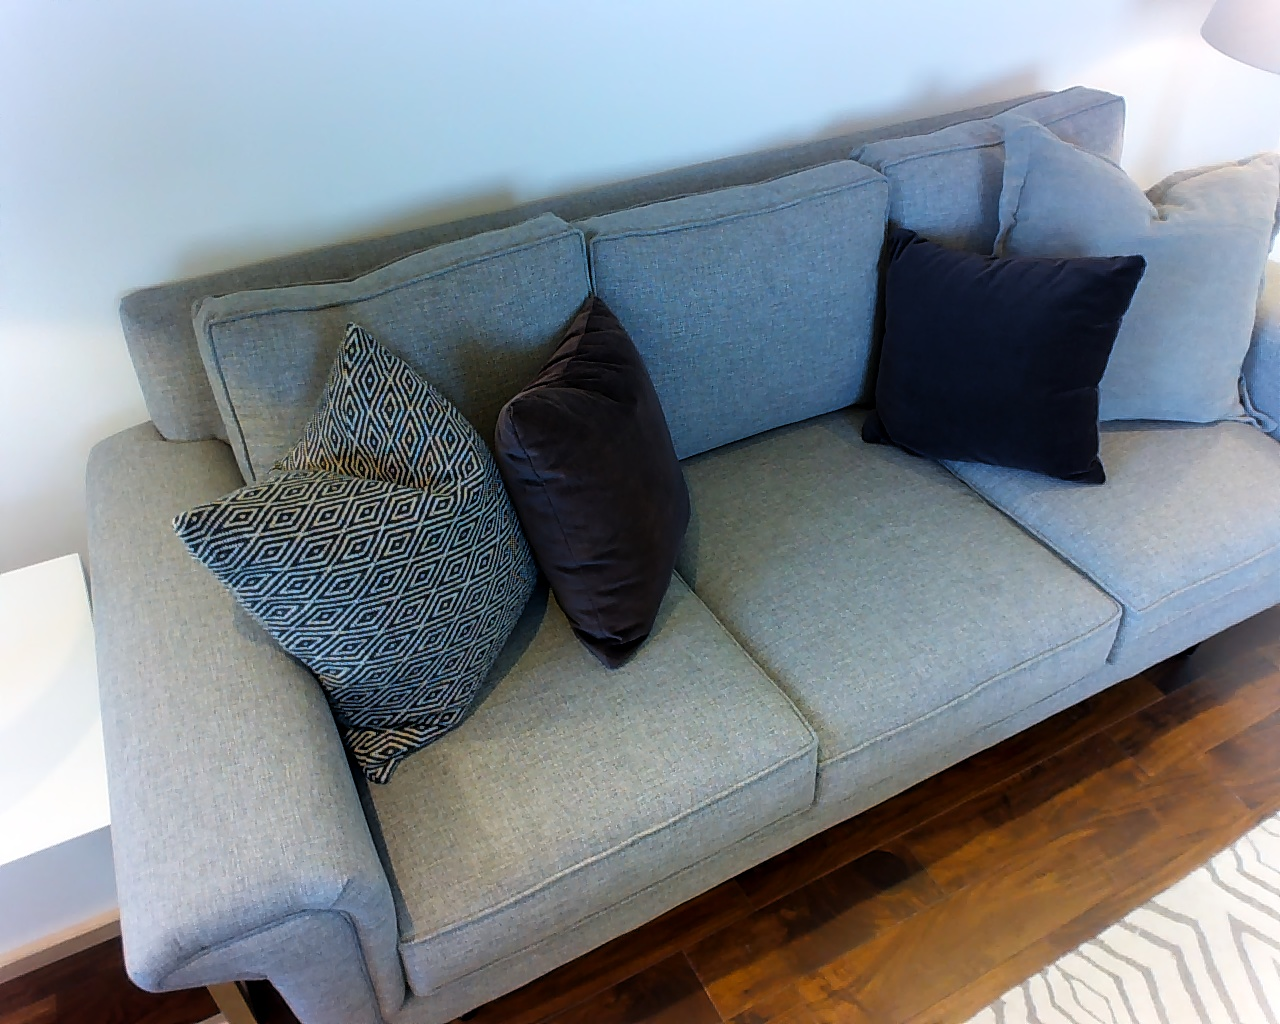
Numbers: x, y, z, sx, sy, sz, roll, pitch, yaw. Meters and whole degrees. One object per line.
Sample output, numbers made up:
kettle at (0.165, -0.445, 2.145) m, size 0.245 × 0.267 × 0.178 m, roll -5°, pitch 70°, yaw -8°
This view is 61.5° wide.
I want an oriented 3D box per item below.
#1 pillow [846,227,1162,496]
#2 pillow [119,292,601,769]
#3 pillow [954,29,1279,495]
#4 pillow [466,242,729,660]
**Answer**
pillow at (0.570, -0.240, 1.720) m, size 0.410 × 0.340 × 0.170 m, roll 16°, pitch 61°, yaw 27°
pillow at (-0.300, 0.030, 1.310) m, size 0.260 × 0.410 × 0.380 m, roll 13°, pitch 63°, yaw 26°
pillow at (0.900, -0.390, 1.810) m, size 0.560 × 0.520 × 0.230 m, roll -30°, pitch 44°, yaw 10°
pillow at (-0.030, -0.070, 1.450) m, size 0.160 × 0.380 × 0.400 m, roll -6°, pitch 54°, yaw 22°
